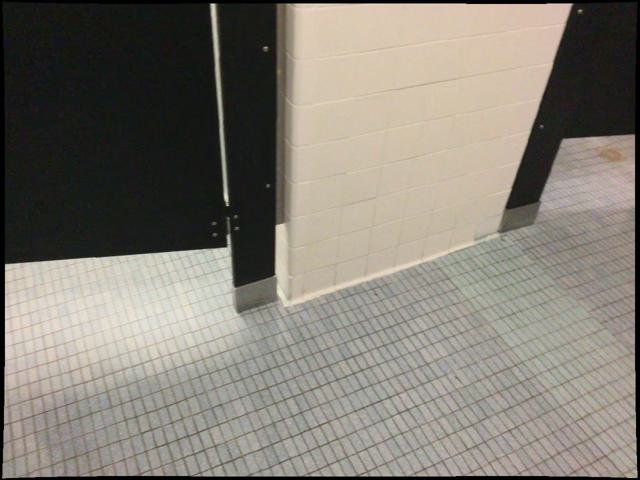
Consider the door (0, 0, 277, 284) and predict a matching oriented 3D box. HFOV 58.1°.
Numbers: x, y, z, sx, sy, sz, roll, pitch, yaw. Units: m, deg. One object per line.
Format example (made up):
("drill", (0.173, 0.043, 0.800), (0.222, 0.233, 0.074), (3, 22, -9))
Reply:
("door", (-0.499, -0.281, 1.220), (0.808, 0.881, 0.080), (-6, 41, -11))
